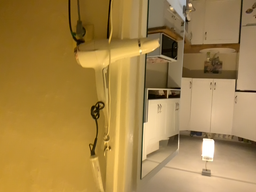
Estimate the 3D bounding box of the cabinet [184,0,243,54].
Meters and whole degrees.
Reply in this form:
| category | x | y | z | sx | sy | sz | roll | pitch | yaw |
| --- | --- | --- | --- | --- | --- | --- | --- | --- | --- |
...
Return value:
| category | x | y | z | sx | sy | sz | roll | pitch | yaw |
| --- | --- | --- | --- | --- | --- | --- | --- | --- | --- |
| cabinet | 1.440 | -1.230 | 3.580 | 0.810 | 0.920 | 0.600 | 4 | -177 | 25 |
